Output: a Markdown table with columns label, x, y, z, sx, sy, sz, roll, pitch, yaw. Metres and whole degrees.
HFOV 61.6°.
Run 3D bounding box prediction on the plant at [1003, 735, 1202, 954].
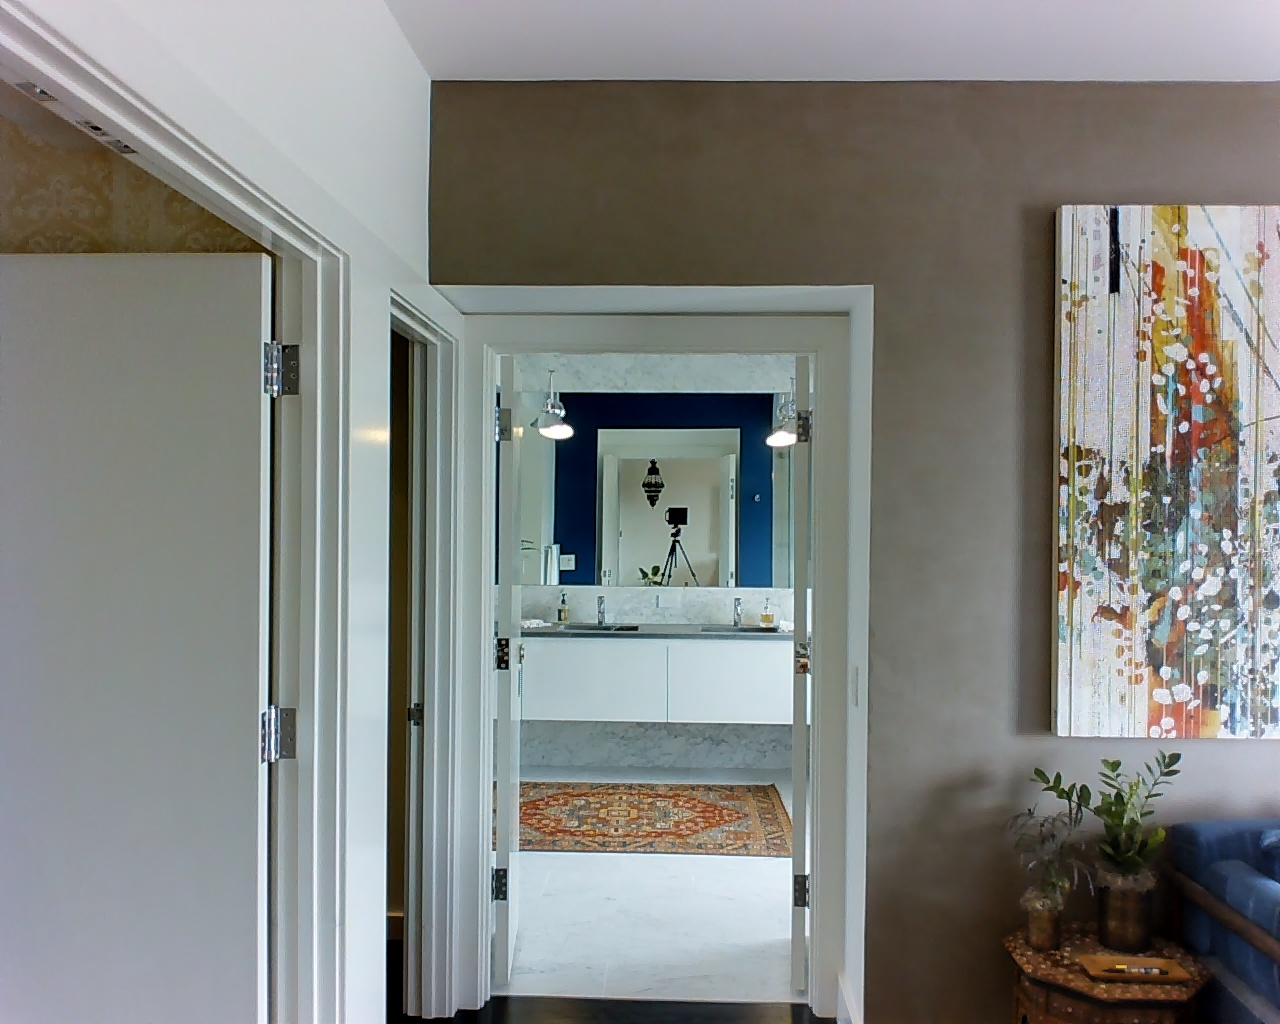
| label | x | y | z | sx | sy | sz | roll | pitch | yaw |
| --- | --- | --- | --- | --- | --- | --- | --- | --- | --- |
| plant | 1.160 | 0.830 | 2.720 | 0.400 | 0.470 | 0.230 | 1 | 0 | 2 |

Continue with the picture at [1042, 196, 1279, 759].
| label | x | y | z | sx | sy | sz | roll | pitch | yaw |
| --- | --- | --- | --- | --- | --- | --- | --- | --- | --- |
| picture | 1.460 | -0.090 | 2.800 | 0.760 | 1.440 | 0.070 | 1 | 0 | 2 |
